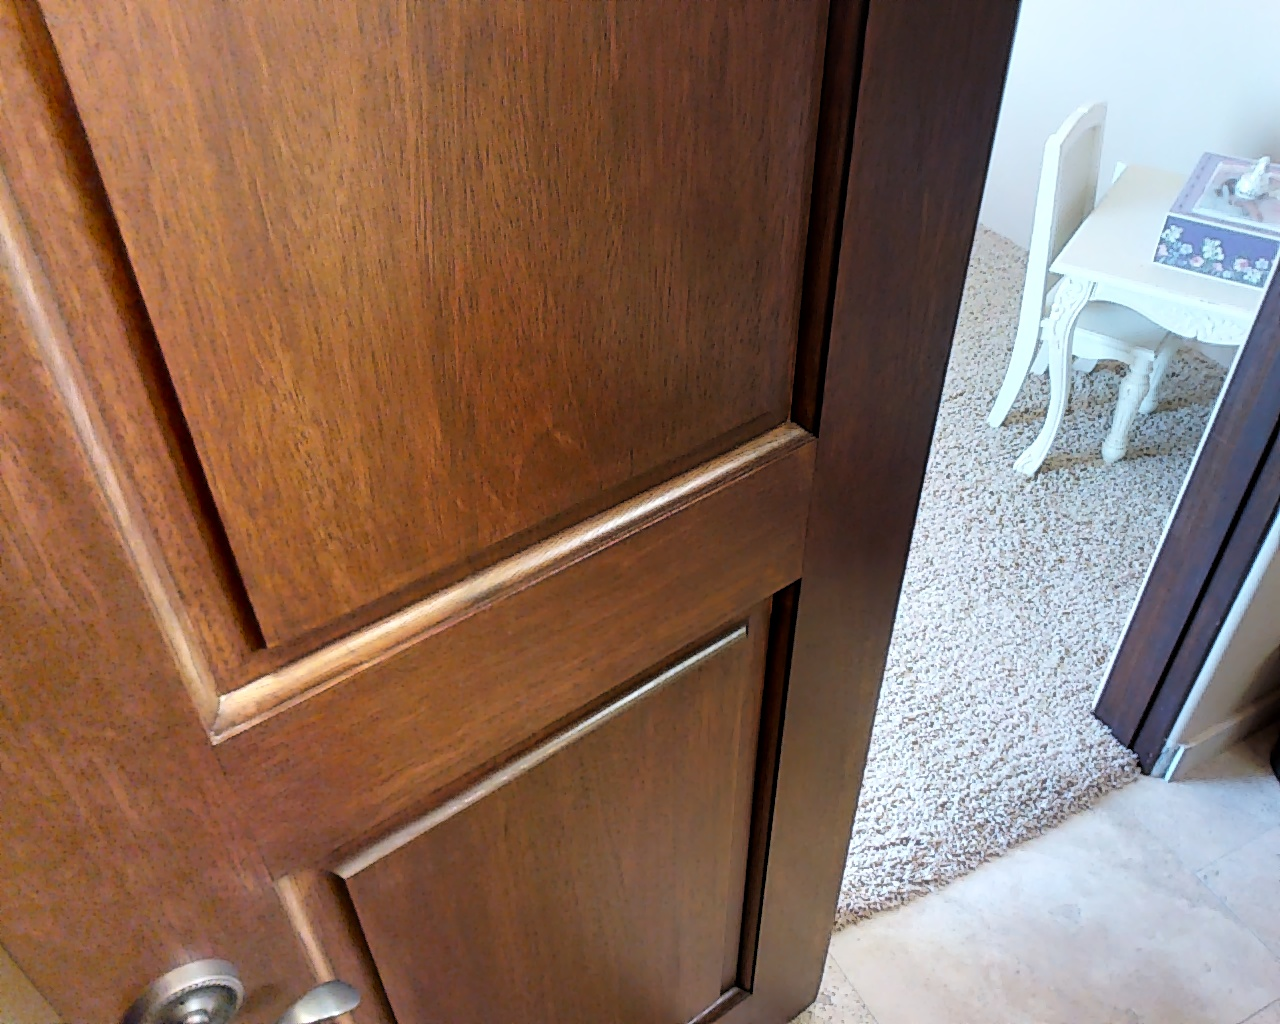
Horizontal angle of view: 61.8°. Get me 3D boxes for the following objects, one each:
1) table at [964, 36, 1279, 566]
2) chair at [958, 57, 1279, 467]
[{"bbox_3d":[1.311,-0.470,2.320,0.830,0.750,0.740,24,46,26],"label":"table"},{"bbox_3d":[1.110,-0.580,2.470,0.440,0.710,0.460,29,49,30],"label":"chair"}]
